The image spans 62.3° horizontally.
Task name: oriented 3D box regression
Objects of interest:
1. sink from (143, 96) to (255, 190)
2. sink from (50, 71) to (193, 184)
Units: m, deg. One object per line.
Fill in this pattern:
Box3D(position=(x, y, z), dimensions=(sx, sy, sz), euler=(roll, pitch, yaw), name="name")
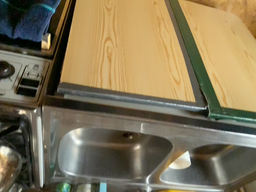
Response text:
Box3D(position=(0.300, 0.210, 0.830), dimensions=(0.370, 0.180, 0.350), euler=(11, 138, -15), name="sink")
Box3D(position=(-0.050, 0.140, 0.740), dimensions=(0.370, 0.190, 0.350), euler=(11, 138, -15), name="sink")
